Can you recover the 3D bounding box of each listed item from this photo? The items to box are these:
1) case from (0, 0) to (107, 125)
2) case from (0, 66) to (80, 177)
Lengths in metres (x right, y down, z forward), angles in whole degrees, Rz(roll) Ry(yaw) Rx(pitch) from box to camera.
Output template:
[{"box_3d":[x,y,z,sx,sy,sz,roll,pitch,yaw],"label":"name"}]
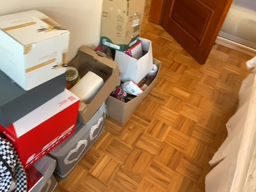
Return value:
[{"box_3d":[-0.370,-0.220,1.010,0.250,0.420,0.540,31,53,20],"label":"case"},{"box_3d":[-0.490,0.120,1.070,0.310,0.310,0.340,30,52,19],"label":"case"}]
